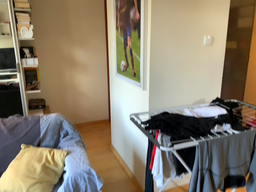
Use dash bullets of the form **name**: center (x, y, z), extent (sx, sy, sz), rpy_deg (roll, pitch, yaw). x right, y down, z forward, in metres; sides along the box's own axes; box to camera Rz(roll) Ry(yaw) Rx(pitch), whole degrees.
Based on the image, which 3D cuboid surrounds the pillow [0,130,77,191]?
- **pillow**: center (-0.740, 0.580, 1.640), extent (0.440, 0.470, 0.220), rpy_deg (18, -38, 19)
